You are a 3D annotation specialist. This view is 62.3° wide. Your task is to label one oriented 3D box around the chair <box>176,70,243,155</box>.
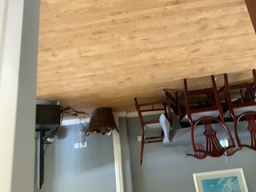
[{"bbox_3d":[1.020,0.250,2.820,0.510,0.970,0.570,-8,162,4],"label":"chair"}]
